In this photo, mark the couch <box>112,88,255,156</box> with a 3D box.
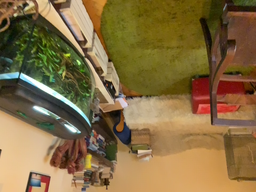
[{"bbox_3d":[0.860,0.430,3.160,2.040,0.790,0.680,-3,155,10],"label":"couch"}]

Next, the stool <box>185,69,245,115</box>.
[{"bbox_3d":[1.040,-0.030,2.660,0.580,0.360,0.530,-3,155,10],"label":"stool"}]

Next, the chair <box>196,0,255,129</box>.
[{"bbox_3d":[0.860,-0.300,1.440,0.540,0.910,0.570,2,155,0],"label":"chair"}]
